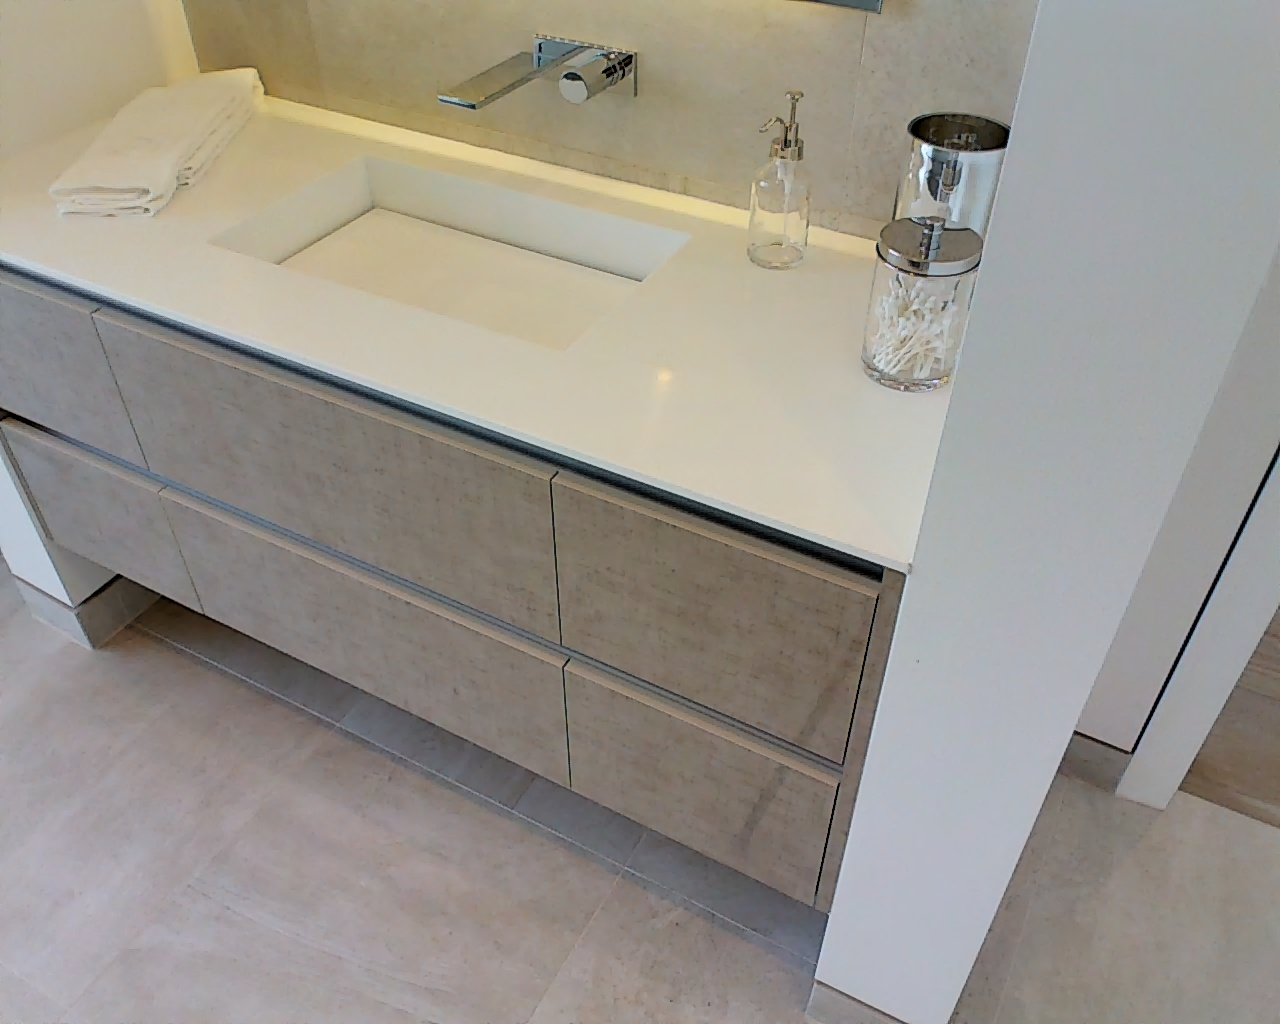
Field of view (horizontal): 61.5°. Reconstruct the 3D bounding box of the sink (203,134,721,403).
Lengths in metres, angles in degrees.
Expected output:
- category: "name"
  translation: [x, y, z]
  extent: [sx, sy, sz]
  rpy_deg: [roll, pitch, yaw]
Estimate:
- category: "sink"
  translation: [-0.240, -0.360, 1.480]
  extent: [0.610, 0.090, 0.340]
  rpy_deg: [20, 45, 21]
